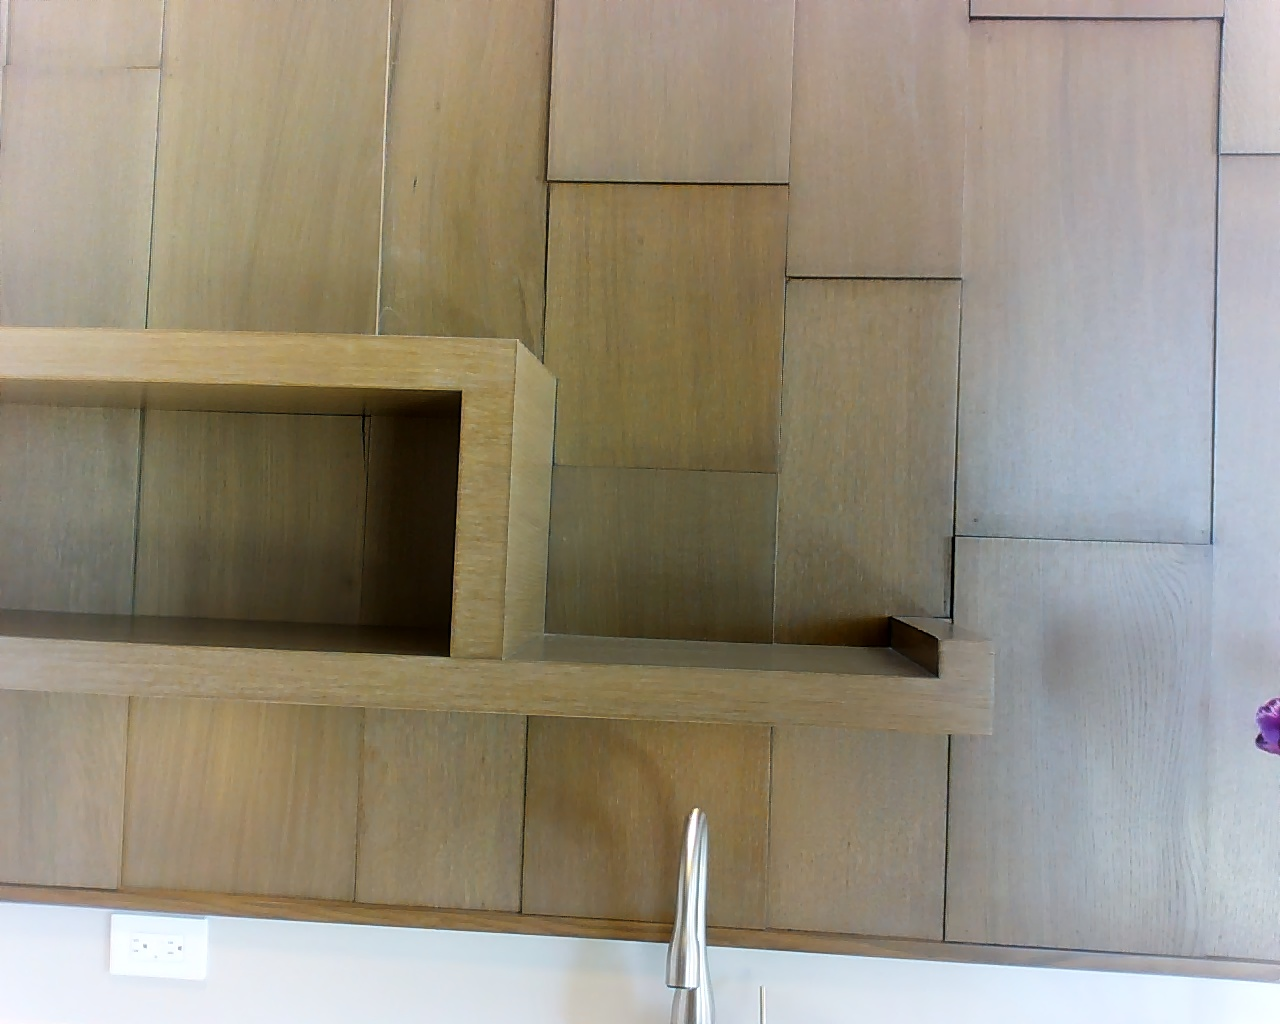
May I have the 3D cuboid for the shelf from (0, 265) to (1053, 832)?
[{"bbox_3d":[-0.290,0.020,1.150,1.330,0.490,0.280,2,-1,5],"label":"shelf"}]
